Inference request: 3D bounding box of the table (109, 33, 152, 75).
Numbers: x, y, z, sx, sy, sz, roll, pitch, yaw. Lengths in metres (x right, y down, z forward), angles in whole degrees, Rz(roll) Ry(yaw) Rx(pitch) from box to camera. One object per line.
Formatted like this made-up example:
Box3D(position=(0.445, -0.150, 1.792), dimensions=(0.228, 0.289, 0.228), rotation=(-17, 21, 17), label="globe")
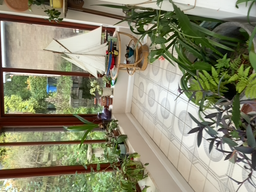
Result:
Box3D(position=(0.010, -0.590, 2.980), dimensions=(0.490, 0.430, 0.490), rotation=(-143, 57, -69), label="table")
